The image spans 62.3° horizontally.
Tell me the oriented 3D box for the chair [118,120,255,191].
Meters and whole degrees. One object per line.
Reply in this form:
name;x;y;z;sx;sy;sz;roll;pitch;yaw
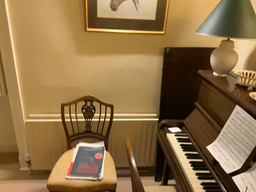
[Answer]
chair;0.200;0.680;1.170;0.440;0.920;0.560;-1;24;-10

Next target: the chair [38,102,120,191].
chair;-0.330;0.510;1.630;0.470;0.770;0.530;0;24;-7
